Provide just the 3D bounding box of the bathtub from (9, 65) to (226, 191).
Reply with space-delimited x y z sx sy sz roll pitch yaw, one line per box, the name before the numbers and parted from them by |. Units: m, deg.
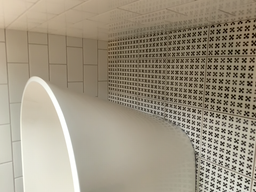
bathtub | -0.140 0.720 1.010 0.780 0.550 1.690 13 104 51
